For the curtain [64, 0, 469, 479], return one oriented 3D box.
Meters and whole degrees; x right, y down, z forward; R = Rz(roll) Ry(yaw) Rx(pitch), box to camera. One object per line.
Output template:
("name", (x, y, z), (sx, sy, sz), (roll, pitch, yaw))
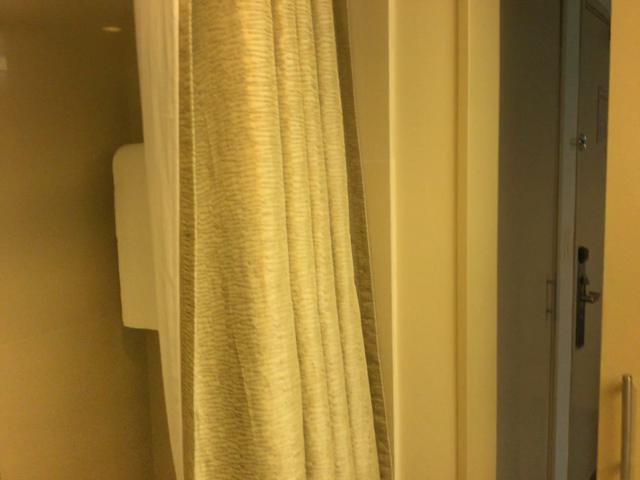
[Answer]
("curtain", (0.000, 0.360, 0.930), (0.250, 2.040, 0.560), (3, 9, 39))
